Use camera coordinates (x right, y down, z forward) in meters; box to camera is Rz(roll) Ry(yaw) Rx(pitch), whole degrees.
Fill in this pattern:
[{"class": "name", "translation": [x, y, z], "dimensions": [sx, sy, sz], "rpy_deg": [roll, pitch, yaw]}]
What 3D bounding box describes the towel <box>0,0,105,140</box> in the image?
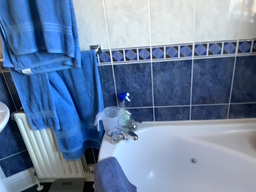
[{"class": "towel", "translation": [-0.510, -0.300, 1.220], "dimensions": [0.580, 1.240, 0.170], "rpy_deg": [-3, 28, 5]}]
